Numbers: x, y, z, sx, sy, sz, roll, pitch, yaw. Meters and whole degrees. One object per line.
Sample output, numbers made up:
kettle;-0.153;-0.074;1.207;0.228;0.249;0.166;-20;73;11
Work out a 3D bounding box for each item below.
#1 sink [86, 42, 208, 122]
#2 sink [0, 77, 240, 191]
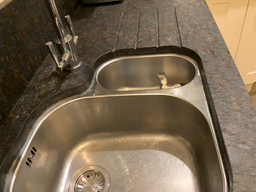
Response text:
sink;0.060;-0.040;0.680;0.320;0.180;0.170;-1;44;8
sink;-0.020;0.160;0.520;0.440;0.230;0.350;-1;44;8
